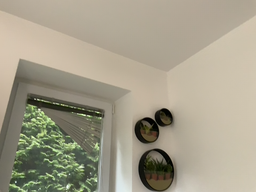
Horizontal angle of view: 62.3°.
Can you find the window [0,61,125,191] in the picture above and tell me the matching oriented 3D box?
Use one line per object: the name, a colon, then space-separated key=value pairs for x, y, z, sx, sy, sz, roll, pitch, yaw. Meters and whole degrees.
window: x=-0.450 y=0.540 z=1.420 sx=0.830 sy=1.370 sz=0.270 roll=17 pitch=-29 yaw=-32
